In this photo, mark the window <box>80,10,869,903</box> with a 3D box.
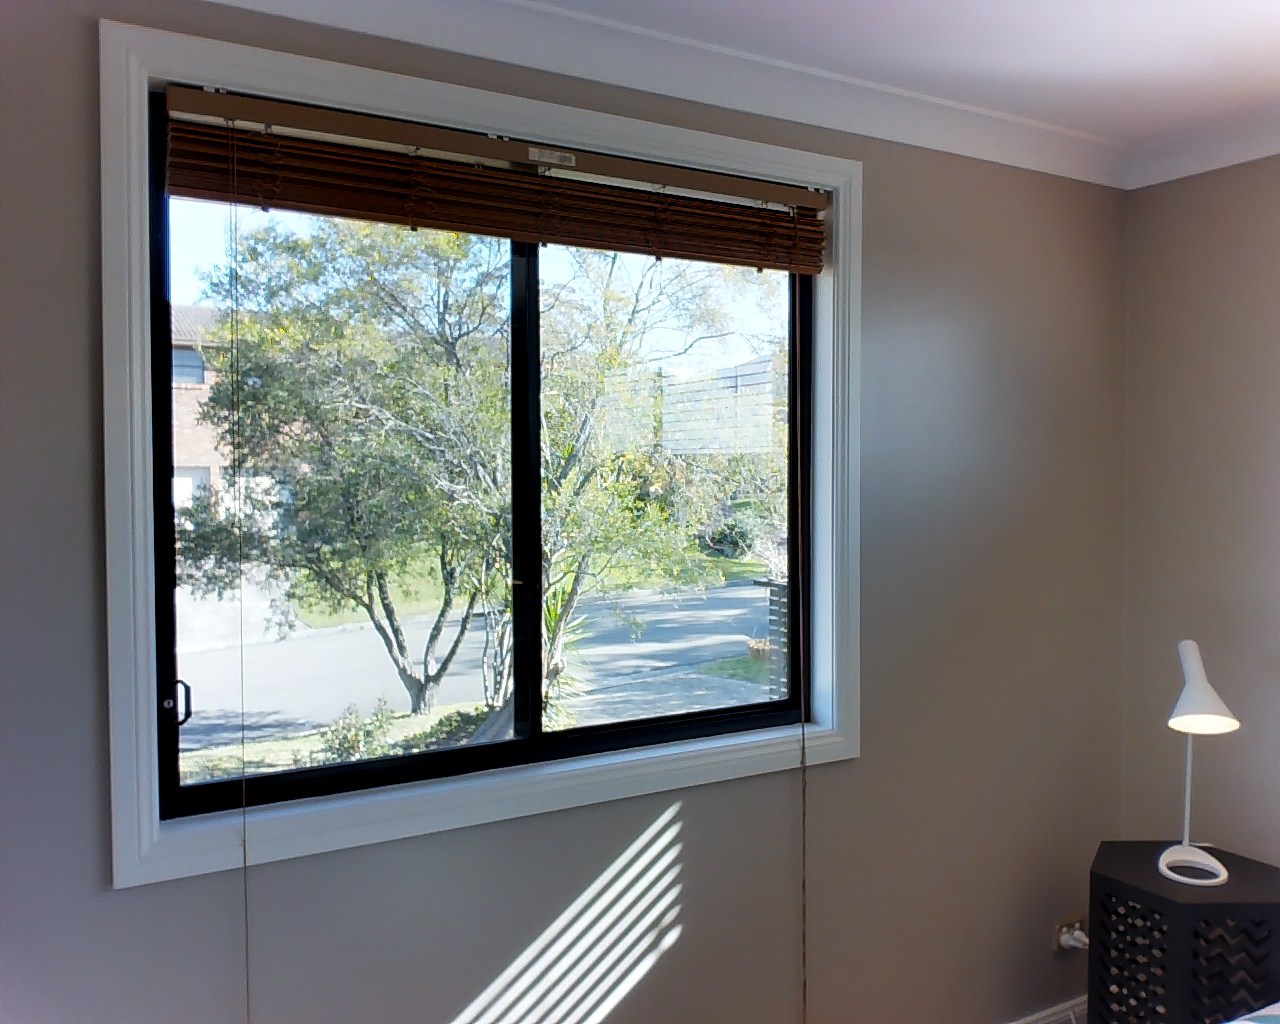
[{"bbox_3d":[-0.200,-0.090,2.130,1.600,1.380,0.150,-1,2,-31],"label":"window"}]
